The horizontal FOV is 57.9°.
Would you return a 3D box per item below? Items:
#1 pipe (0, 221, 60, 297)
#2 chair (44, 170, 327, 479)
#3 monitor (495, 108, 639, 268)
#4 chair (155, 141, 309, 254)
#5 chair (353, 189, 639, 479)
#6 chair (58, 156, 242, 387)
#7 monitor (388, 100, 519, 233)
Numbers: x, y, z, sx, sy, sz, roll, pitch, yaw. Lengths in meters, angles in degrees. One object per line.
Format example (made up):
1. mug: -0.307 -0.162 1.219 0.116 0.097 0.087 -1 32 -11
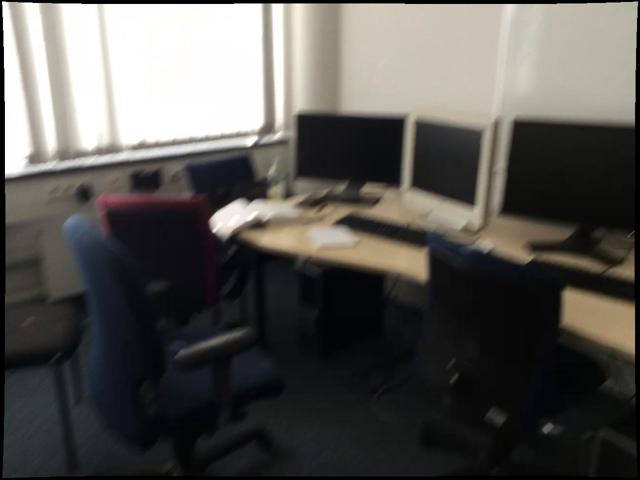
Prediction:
1. pipe: -1.628 0.110 2.970 0.450 0.280 0.210 -18 27 -38
2. chair: -0.420 0.350 1.860 0.640 0.961 0.650 -12 23 -28
3. monitor: 0.989 -0.200 2.070 0.600 0.460 0.270 14 25 33
4. chair: -0.470 -0.260 3.130 0.620 0.400 0.530 18 28 40
5. chair: 0.549 0.390 1.850 0.600 0.901 0.640 -18 27 -38
6. chair: -0.719 0.110 2.670 0.509 0.851 0.660 2 21 7
7. monitor: 0.519 -0.320 2.370 0.170 0.430 0.530 -14 24 -31
